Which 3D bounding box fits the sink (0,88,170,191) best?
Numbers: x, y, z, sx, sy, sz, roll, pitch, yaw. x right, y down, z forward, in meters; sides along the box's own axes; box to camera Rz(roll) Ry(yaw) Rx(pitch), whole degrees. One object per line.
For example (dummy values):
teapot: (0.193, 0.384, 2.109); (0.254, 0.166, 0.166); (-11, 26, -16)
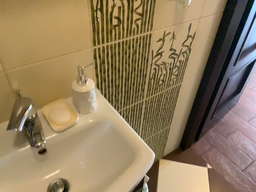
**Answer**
sink: (-0.210, 0.210, 0.600); (0.520, 0.130, 0.370); (-22, 47, -26)
